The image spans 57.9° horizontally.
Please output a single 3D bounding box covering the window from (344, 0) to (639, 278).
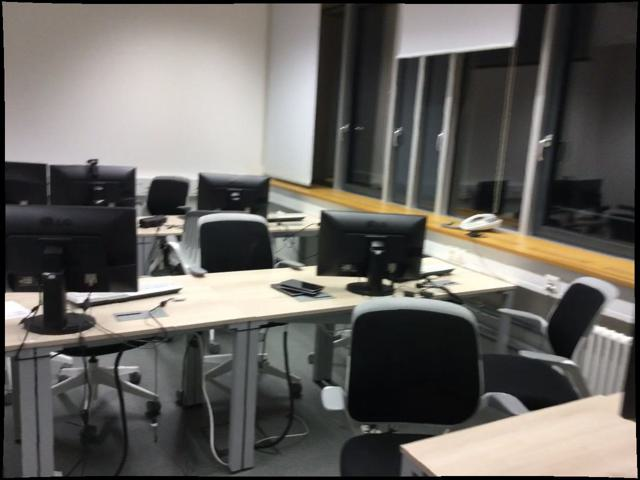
[{"bbox_3d":[1.329,-0.811,2.990,0.440,1.692,3.899,-5,15,-28],"label":"window"}]
